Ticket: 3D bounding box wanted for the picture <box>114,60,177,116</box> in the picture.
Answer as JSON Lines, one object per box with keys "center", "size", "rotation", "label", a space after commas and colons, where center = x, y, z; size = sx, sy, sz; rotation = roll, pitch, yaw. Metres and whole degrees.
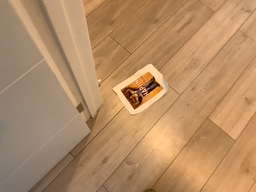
{"center": [0.100, -0.050, 1.220], "size": [0.290, 0.040, 0.210], "rotation": [-29, 75, -13], "label": "picture"}
